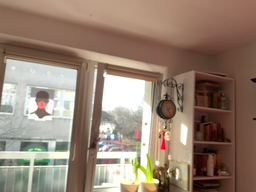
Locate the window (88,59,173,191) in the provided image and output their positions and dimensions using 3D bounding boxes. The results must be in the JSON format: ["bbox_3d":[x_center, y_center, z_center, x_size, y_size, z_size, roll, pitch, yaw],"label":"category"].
[{"bbox_3d":[0.050,0.420,2.290,0.800,1.490,0.250,7,-9,-24],"label":"window"}]
